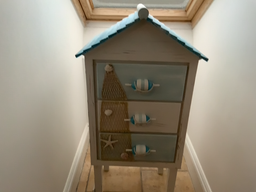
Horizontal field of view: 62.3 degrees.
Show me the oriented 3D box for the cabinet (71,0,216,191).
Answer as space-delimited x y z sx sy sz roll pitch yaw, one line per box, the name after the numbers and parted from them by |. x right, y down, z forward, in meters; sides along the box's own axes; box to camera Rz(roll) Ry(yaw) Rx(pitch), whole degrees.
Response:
0.040 0.100 1.000 0.430 1.000 0.350 1 25 1 | cabinet
